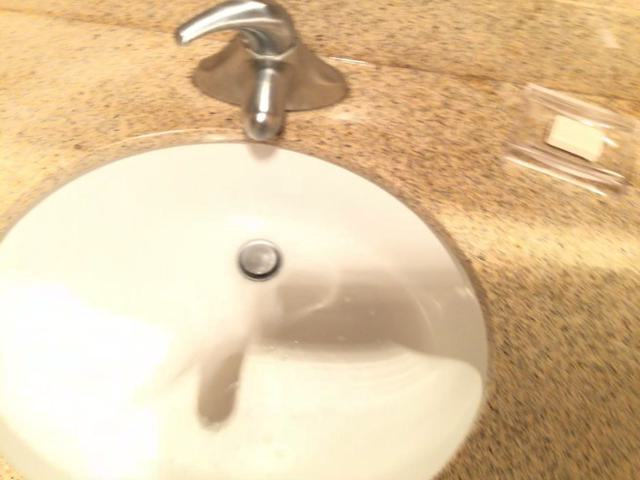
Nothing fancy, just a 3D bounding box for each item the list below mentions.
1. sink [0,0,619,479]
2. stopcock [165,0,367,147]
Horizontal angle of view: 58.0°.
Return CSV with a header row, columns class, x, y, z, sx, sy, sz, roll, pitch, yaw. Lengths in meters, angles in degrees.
class,x,y,z,sx,sy,sz,roll,pitch,yaw
sink,-0.060,0.020,0.480,0.430,0.290,0.420,8,62,-1
stopcock,-0.040,-0.180,0.520,0.150,0.100,0.140,8,62,-1
